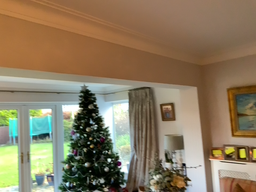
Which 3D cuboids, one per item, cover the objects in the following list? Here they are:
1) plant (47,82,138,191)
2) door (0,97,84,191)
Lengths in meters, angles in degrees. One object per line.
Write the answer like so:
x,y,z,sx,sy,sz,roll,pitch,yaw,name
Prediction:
-0.670,0.930,4.210,1.080,2.200,1.320,-7,-5,34,plant
-2.140,1.200,4.120,0.200,2.350,3.020,-7,-6,37,door
